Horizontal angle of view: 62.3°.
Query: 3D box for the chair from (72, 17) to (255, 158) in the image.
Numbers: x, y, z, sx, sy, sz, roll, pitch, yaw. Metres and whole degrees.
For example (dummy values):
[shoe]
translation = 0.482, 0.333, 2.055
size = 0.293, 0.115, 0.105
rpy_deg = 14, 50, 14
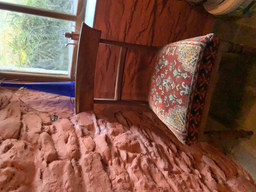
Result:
[chair]
translation = 0.200, -0.070, 1.140
size = 0.560, 0.860, 0.490
rpy_deg = -144, 60, -62
